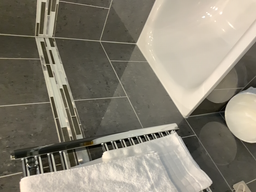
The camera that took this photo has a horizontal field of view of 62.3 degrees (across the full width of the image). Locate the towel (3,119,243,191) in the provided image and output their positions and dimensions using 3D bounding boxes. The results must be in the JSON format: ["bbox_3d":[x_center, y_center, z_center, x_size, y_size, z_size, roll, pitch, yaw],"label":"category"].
[{"bbox_3d":[0.020,0.300,0.760,0.330,0.790,0.130,62,142,35],"label":"towel"}]
